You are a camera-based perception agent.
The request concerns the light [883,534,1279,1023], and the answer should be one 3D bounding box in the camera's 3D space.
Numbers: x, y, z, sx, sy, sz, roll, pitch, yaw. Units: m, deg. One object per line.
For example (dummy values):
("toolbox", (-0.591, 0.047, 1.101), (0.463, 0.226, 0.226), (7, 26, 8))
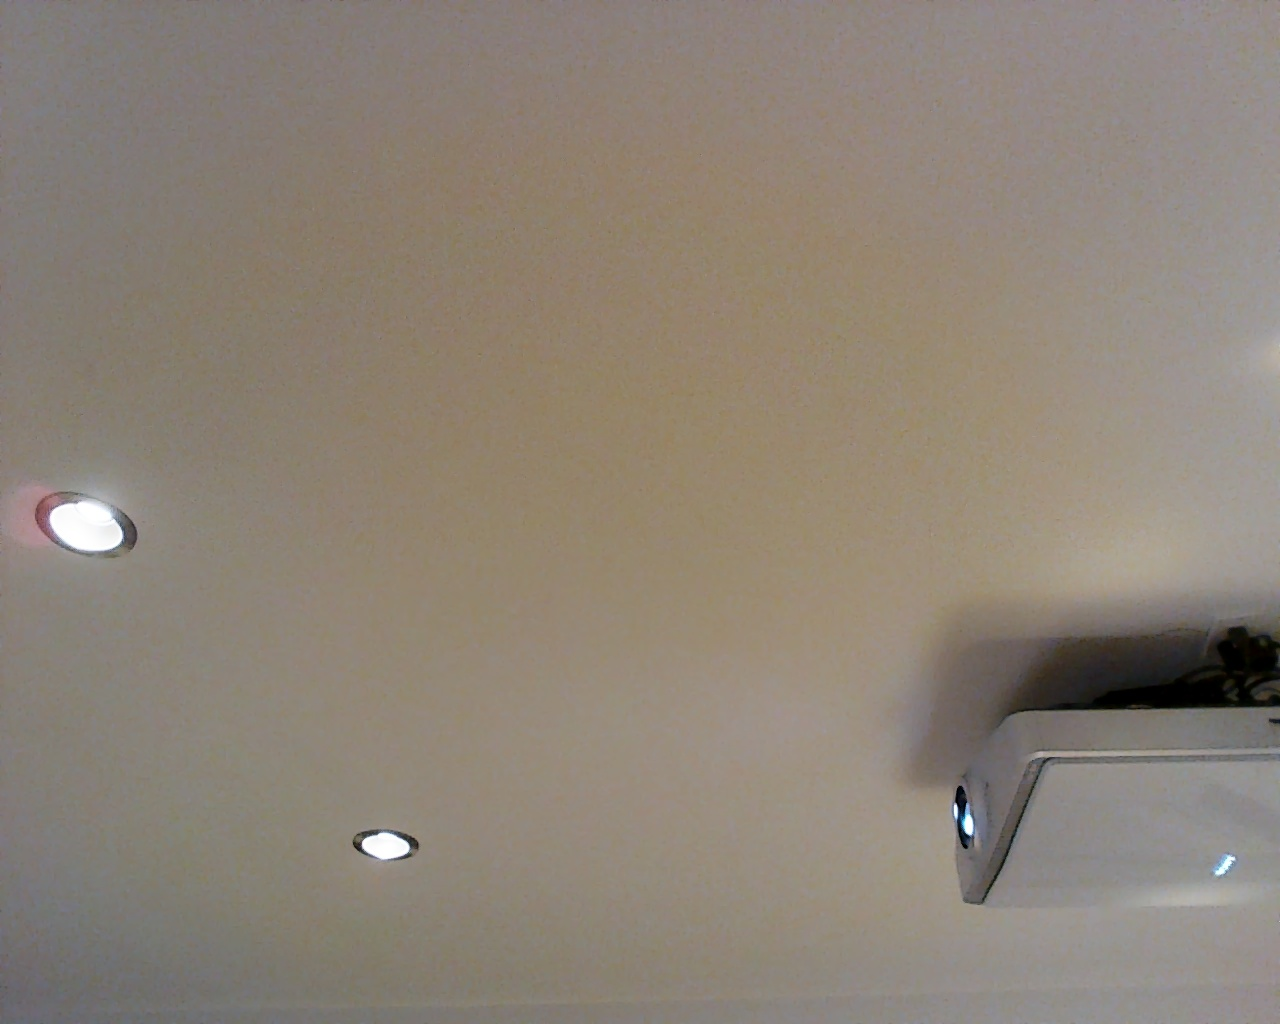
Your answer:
("light", (0.790, 0.430, 1.660), (0.580, 0.560, 0.250), (-28, 5, 28))
